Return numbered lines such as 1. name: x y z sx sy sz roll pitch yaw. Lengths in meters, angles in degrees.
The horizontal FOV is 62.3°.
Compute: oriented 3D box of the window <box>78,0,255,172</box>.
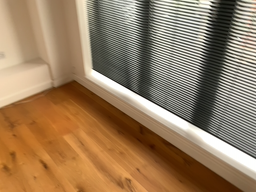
1. window: 0.490 -0.710 1.450 0.170 2.240 2.920 -27 42 -35
